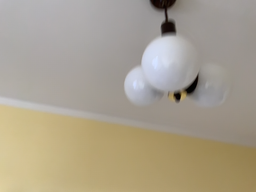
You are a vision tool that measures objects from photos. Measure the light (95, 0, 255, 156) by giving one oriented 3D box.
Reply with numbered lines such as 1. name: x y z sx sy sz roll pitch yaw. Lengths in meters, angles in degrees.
1. light: 0.230 -0.190 0.730 0.520 0.410 0.600 14 -125 -15
